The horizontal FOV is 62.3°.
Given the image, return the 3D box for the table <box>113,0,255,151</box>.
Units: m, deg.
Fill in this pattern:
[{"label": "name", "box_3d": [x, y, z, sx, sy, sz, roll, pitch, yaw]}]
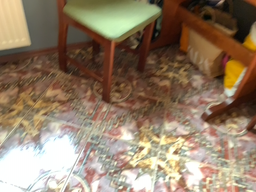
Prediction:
[{"label": "table", "box_3d": [0.510, -0.450, 1.300, 0.700, 0.750, 1.130, -18, 50, -26]}]
